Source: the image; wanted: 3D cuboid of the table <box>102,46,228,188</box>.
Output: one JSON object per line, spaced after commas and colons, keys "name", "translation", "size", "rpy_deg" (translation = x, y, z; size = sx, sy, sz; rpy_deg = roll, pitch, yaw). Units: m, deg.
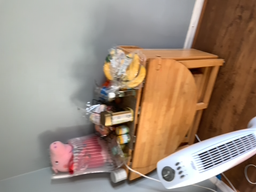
{"name": "table", "translation": [0.250, 0.110, 1.620], "size": [0.360, 0.740, 0.900], "rpy_deg": [36, 126, 48]}
